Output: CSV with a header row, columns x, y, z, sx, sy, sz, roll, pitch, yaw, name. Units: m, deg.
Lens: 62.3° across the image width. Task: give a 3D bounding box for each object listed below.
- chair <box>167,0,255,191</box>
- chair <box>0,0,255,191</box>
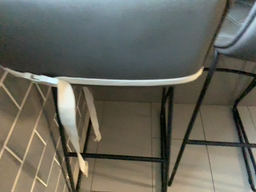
x,y,z,sx,sy,sz,roll,pitch,yaw,name
0.430,-0.030,0.790,0.430,1.010,0.500,4,52,4,chair
-0.010,-0.010,0.770,0.400,1.030,0.560,4,52,4,chair
